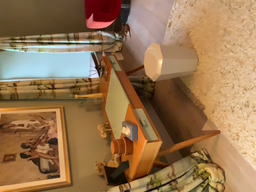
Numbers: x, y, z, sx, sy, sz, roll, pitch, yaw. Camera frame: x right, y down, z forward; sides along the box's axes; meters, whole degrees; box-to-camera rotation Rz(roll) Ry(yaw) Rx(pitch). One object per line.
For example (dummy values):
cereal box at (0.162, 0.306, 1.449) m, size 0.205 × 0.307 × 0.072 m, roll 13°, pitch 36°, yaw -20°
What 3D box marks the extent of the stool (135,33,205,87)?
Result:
stool at (0.380, -0.350, 2.060) m, size 0.380 × 0.460 × 0.360 m, roll -117°, pitch 31°, yaw -47°
